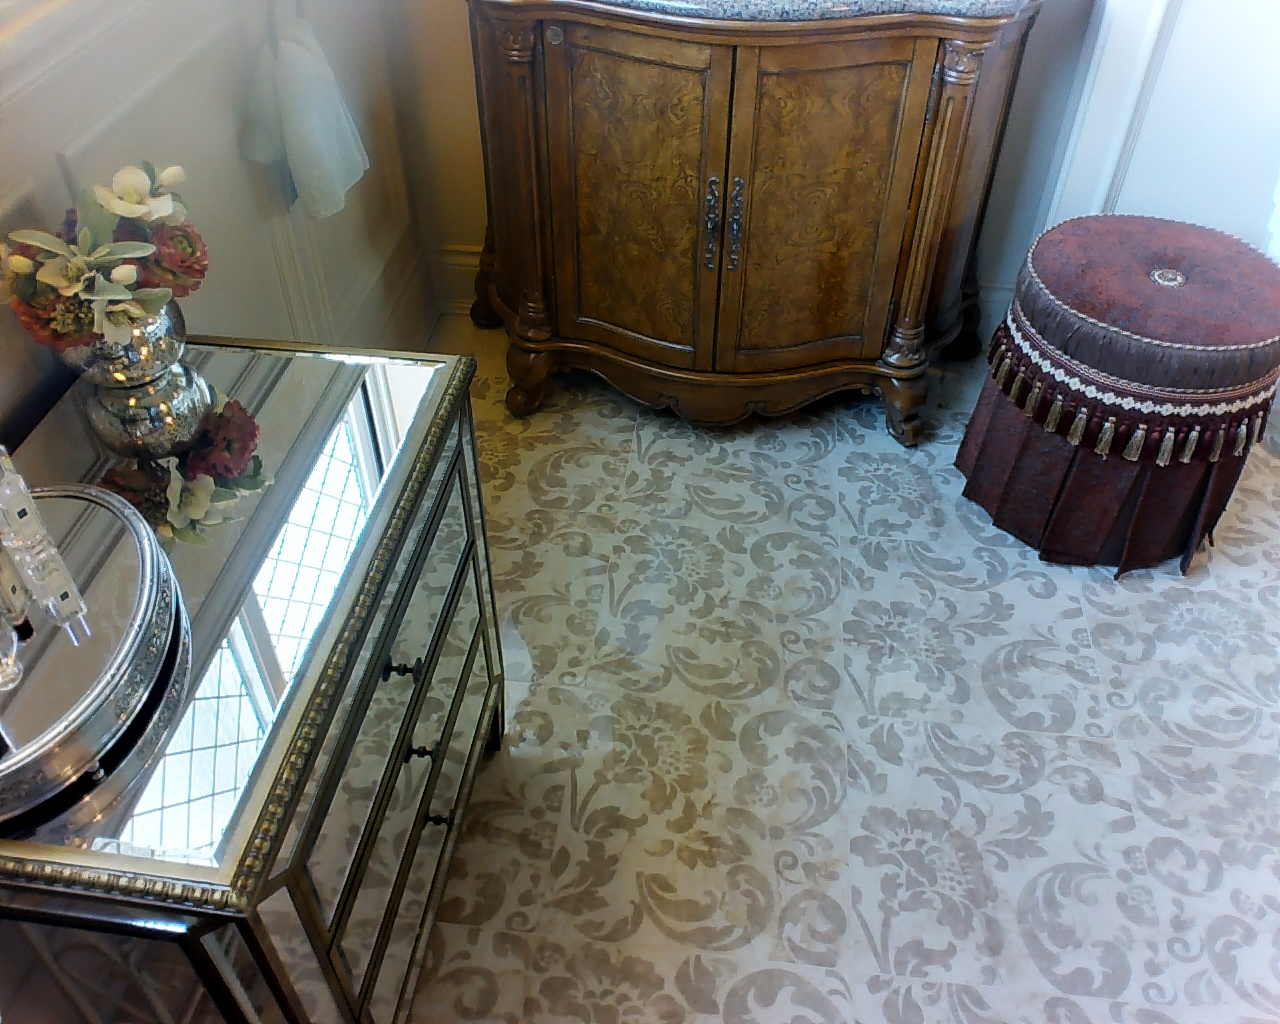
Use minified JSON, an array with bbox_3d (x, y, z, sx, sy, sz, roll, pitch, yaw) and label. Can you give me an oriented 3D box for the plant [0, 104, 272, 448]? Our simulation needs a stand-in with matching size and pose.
[{"bbox_3d":[-0.580,-0.260,1.160,0.210,0.250,0.270,5,43,5],"label":"plant"}]
